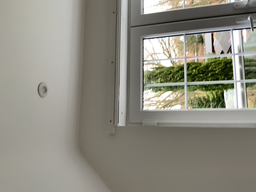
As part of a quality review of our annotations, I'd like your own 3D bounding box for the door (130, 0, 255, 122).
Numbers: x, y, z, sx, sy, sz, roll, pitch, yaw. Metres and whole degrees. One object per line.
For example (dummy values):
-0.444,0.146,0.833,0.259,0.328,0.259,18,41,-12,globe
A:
1.010,-0.530,1.560,0.050,2.030,1.430,24,-115,-74,door
